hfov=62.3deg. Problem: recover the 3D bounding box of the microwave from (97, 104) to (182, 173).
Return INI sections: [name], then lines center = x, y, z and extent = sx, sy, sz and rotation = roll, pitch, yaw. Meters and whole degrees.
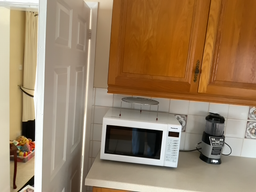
[microwave]
center = 0.080, 0.270, 1.520
extent = 0.500, 0.310, 0.420
rotation = 6, 8, 5
